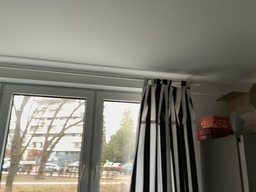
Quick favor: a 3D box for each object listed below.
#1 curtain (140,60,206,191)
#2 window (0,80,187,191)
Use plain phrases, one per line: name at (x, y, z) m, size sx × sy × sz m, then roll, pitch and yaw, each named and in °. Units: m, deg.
curtain at (0.370, 0.520, 1.820) m, size 0.500 × 1.670 × 0.190 m, roll 4°, pitch -16°, yaw -7°
window at (-0.600, 0.650, 1.830) m, size 2.190 × 1.510 × 0.230 m, roll 3°, pitch -16°, yaw -6°
